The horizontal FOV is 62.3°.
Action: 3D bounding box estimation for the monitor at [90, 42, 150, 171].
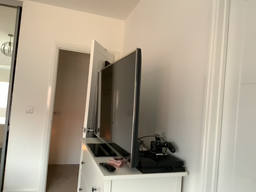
[{"bbox_3d":[-0.130,0.070,1.650,0.070,0.690,1.070,7,-4,-20],"label":"monitor"}]
